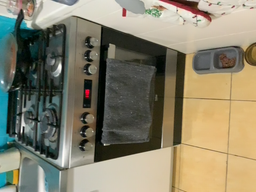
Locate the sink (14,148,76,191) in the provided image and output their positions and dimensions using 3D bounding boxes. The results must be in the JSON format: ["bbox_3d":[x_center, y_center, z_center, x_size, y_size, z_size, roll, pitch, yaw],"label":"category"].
[{"bbox_3d":[-0.440,0.490,1.080,0.380,0.150,0.340,5,91,46],"label":"sink"}]
